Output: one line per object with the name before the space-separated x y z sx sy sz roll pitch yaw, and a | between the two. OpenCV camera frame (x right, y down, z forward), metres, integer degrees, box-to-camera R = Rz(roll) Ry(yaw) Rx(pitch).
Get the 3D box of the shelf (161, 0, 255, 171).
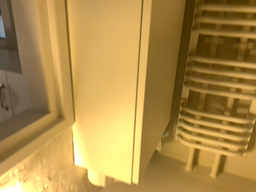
shelf | 0.380 -0.300 0.740 0.380 1.170 0.150 12 -155 21
